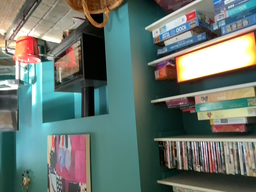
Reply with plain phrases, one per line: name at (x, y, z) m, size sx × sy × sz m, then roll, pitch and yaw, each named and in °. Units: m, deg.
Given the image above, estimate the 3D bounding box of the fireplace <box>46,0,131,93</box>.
fireplace at (-0.550, -0.490, 2.560) m, size 0.490 × 0.720 × 1.180 m, roll 2°, pitch 171°, yaw -38°
